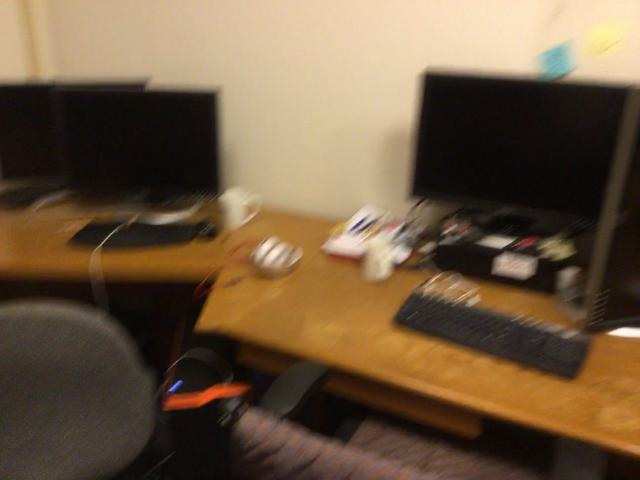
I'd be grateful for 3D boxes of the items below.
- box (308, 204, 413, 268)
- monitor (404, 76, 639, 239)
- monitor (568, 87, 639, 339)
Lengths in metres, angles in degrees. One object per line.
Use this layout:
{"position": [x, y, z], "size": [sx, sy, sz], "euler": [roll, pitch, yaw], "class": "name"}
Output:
{"position": [0.130, -0.020, 1.780], "size": [0.230, 0.070, 0.280], "euler": [11, 25, 25], "class": "box"}
{"position": [0.510, -0.230, 1.520], "size": [0.550, 0.350, 0.100], "euler": [11, 25, 25], "class": "monitor"}
{"position": [0.770, -0.060, 1.280], "size": [0.340, 0.540, 0.090], "euler": [-6, 23, -14], "class": "monitor"}
